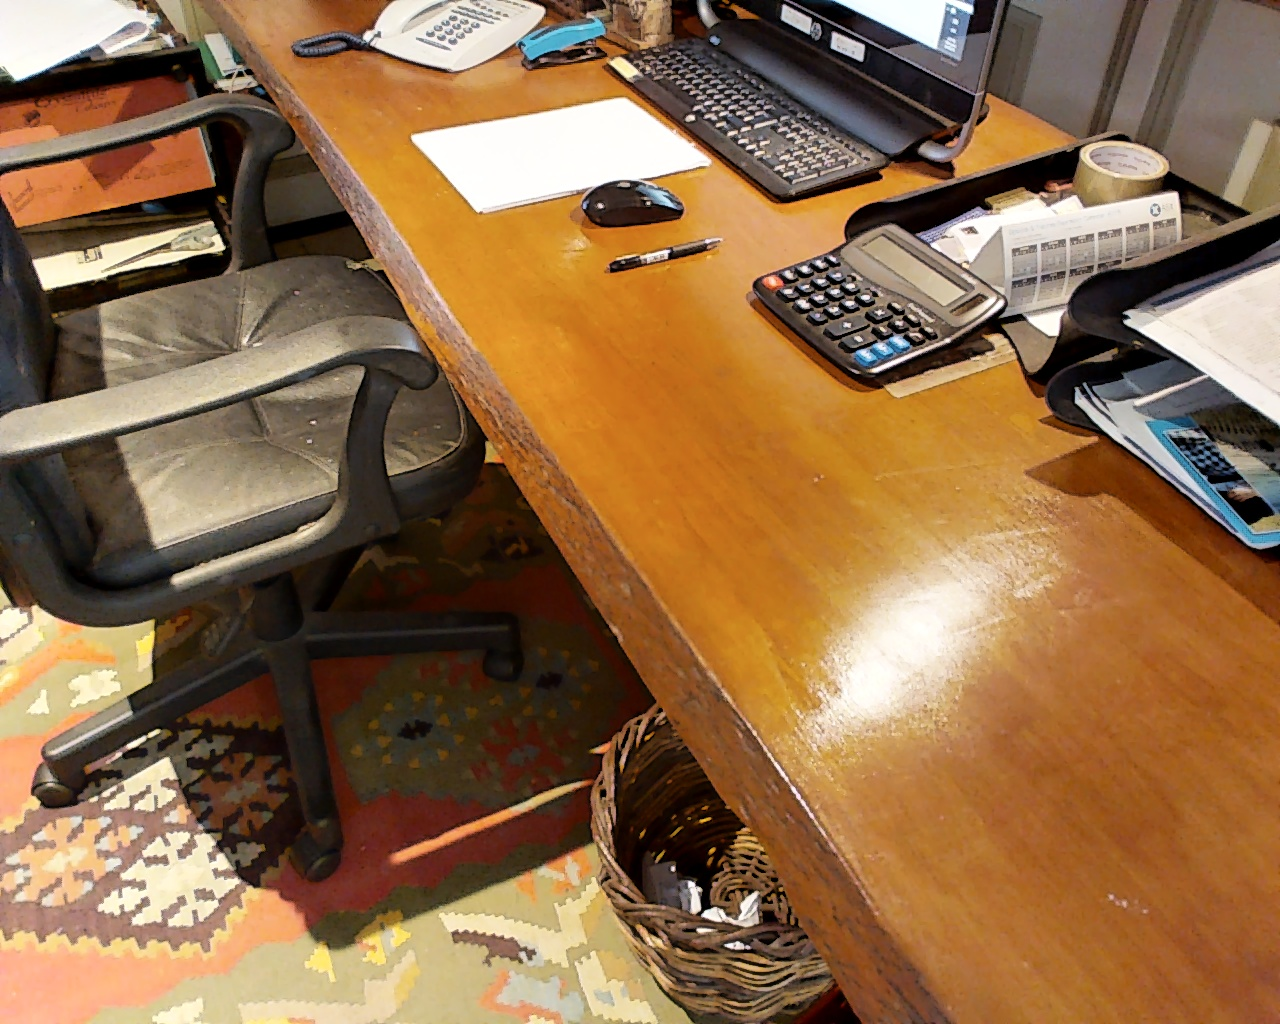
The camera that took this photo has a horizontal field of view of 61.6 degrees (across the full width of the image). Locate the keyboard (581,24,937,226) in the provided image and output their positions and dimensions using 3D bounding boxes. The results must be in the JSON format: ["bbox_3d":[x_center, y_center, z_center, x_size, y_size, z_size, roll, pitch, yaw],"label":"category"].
[{"bbox_3d":[0.130,-0.520,1.390,0.190,0.030,0.540,-20,47,-22],"label":"keyboard"}]

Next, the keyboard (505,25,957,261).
[{"bbox_3d":[0.090,-0.500,1.380,0.320,0.030,0.570,-20,47,-22],"label":"keyboard"}]

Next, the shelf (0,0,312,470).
[{"bbox_3d":[-1.030,-0.620,2.060,0.480,0.720,0.670,-20,47,-22],"label":"shelf"}]
